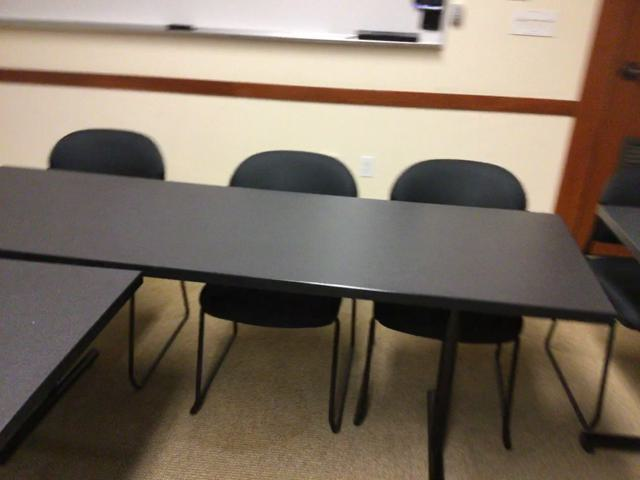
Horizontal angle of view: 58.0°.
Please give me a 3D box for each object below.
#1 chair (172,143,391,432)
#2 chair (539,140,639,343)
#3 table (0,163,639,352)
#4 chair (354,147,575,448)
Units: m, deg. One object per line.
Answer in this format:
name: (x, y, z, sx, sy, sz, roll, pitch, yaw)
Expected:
chair: (-0.080, 0.120, 1.930, 0.570, 0.750, 0.560, 4, 23, 8)
chair: (1.110, 0.000, 1.810, 0.570, 0.460, 0.530, -19, 29, -39)
table: (-0.200, -0.020, 1.550, 1.770, 0.120, 0.680, 4, 23, 8)
chair: (0.430, 0.150, 1.900, 0.540, 0.770, 0.550, 5, 23, 10)
